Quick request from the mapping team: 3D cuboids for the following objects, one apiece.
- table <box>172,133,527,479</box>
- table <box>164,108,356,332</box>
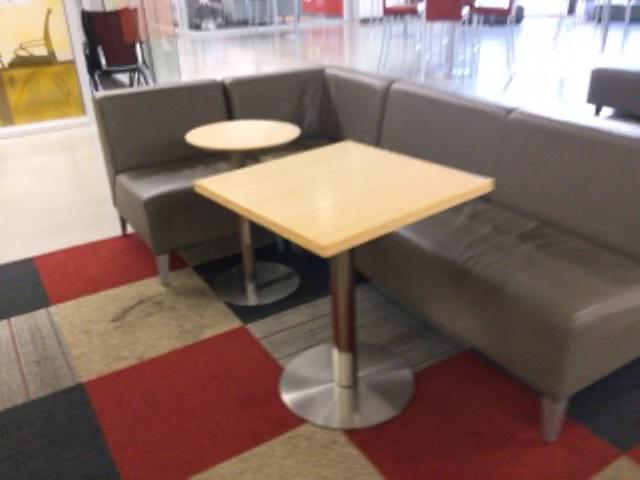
[{"bbox_3d":[0.100,0.150,1.770,0.730,0.780,0.700,-20,22,-30],"label":"table"},{"bbox_3d":[-0.260,-0.130,2.480,0.540,0.750,0.560,-16,21,-23],"label":"table"}]
